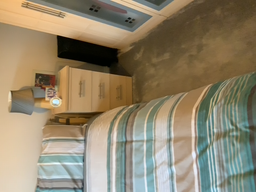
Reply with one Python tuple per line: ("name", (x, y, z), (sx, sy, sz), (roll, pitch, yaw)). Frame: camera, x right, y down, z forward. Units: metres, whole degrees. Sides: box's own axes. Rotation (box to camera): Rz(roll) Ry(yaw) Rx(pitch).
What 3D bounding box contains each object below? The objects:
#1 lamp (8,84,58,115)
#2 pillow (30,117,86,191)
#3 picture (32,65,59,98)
("lamp", (-0.910, 0.050, 2.030), (0.300, 0.380, 0.230), (-17, 73, 53))
("pillow", (-0.610, 0.610, 1.920), (0.180, 0.470, 0.780), (-10, 75, 27))
("picture", (-0.800, -0.130, 2.060), (0.180, 0.180, 0.270), (-13, 75, 47))
